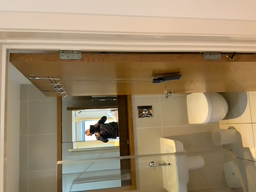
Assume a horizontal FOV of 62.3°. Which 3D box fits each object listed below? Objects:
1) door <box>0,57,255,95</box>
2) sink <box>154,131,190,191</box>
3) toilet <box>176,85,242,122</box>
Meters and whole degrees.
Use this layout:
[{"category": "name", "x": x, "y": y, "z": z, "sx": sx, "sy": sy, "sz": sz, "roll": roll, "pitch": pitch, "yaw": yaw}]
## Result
[{"category": "door", "x": 0.360, "y": -0.120, "z": 1.520, "sx": 0.810, "sy": 2.200, "sz": 0.080, "roll": 153, "pitch": 115, "yaw": -77}, {"category": "sink", "x": 0.480, "y": 0.740, "z": 2.400, "sx": 0.480, "sy": 0.200, "sz": 0.620, "roll": 157, "pitch": 111, "yaw": -78}, {"category": "toilet", "x": 0.920, "y": 0.100, "z": 2.510, "sx": 0.560, "sy": 0.490, "sz": 0.370, "roll": 157, "pitch": 111, "yaw": -78}]
